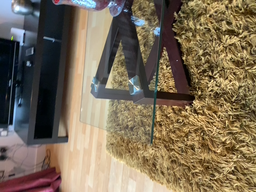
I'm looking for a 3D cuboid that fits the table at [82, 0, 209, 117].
[{"bbox_3d":[0.070,-0.390,0.970,0.480,0.290,0.910,6,91,51],"label":"table"}]

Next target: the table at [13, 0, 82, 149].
[{"bbox_3d":[-0.790,-0.320,2.040,0.610,0.340,1.470,7,92,51],"label":"table"}]
